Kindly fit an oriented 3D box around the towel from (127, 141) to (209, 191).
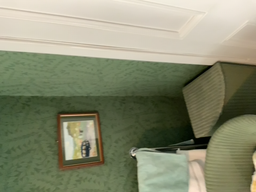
[{"bbox_3d":[0.250,0.570,1.230,0.180,0.400,0.550,135,131,-59],"label":"towel"}]
